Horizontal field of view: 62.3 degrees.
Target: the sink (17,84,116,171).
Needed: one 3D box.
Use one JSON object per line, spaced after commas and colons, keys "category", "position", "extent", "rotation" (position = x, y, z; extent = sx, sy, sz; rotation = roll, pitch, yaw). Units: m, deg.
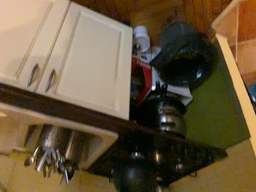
{"category": "sink", "position": [-0.320, 0.190, 1.060], "extent": [0.350, 0.180, 0.450], "rotation": [18, 140, -20]}
